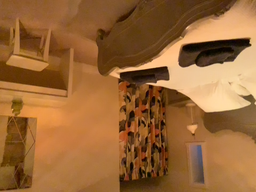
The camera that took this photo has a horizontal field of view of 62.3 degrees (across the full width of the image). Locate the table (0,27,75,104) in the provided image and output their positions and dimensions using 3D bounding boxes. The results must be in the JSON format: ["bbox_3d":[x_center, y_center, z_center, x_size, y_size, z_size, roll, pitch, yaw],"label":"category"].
[{"bbox_3d":[-1.420,-0.370,2.860,1.250,0.790,0.460,8,165,-34],"label":"table"}]

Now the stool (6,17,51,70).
[{"bbox_3d":[-1.210,-0.610,2.580,0.390,0.450,0.330,10,164,-39],"label":"stool"}]

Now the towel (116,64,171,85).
[{"bbox_3d":[0.190,-0.240,2.430,0.590,0.090,0.330,-4,167,13],"label":"towel"}]
